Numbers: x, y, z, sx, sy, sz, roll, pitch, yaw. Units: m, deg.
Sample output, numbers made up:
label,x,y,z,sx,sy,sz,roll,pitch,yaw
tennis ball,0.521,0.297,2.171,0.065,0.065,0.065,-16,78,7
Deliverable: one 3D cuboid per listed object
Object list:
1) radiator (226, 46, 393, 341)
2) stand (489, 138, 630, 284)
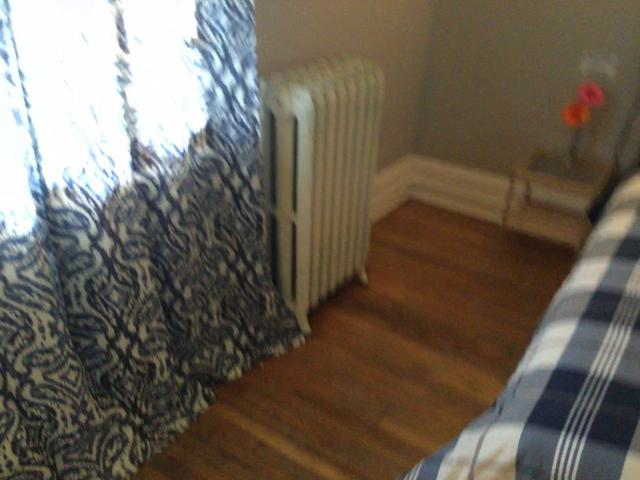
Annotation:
label,x,y,z,sx,sy,sz,roll,pitch,yaw
radiator,-0.010,-0.180,2.200,0.290,0.940,0.550,20,38,31
stand,1.090,-0.150,2.660,0.440,0.470,0.370,19,35,31
